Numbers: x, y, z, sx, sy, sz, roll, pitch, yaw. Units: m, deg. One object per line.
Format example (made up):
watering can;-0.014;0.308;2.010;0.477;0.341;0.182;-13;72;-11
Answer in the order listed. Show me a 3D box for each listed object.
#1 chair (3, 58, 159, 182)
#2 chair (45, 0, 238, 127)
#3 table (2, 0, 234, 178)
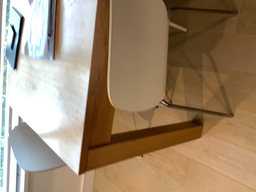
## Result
chair;-0.300;0.100;1.400;0.490;0.790;0.460;40;119;39
chair;0.100;-0.160;0.970;0.440;0.780;0.420;10;98;46
table;-0.110;-0.300;1.170;0.920;0.800;0.900;20;105;45
